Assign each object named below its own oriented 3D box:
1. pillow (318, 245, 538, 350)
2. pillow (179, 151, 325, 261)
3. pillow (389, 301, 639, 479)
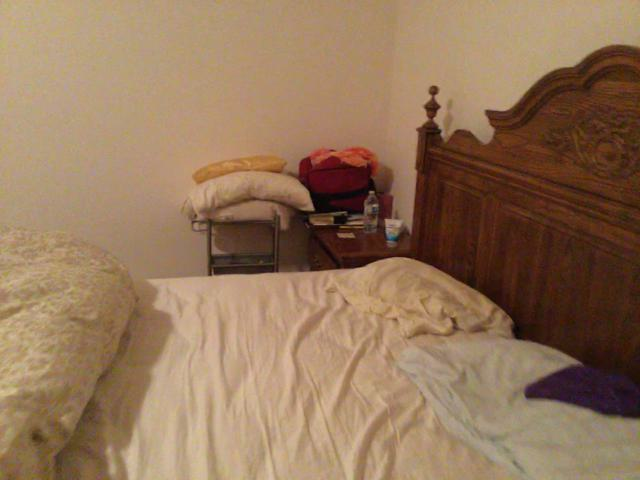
[{"bbox_3d":[0.310,0.170,1.860,0.500,0.130,0.540,4,15,-16],"label":"pillow"},{"bbox_3d":[-0.330,-0.160,2.650,0.580,0.380,0.400,4,15,-16],"label":"pillow"},{"bbox_3d":[0.500,0.350,1.220,0.450,0.170,0.730,4,15,-16],"label":"pillow"}]
